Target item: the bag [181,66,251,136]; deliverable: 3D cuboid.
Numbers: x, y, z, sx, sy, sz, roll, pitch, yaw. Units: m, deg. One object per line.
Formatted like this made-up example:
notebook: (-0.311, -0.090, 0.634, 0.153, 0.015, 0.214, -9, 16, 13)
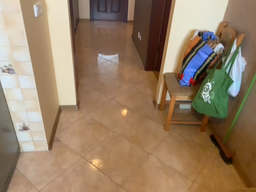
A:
bag: (0.710, 0.050, 1.810, 0.340, 0.530, 0.270, 1, 33, -6)
